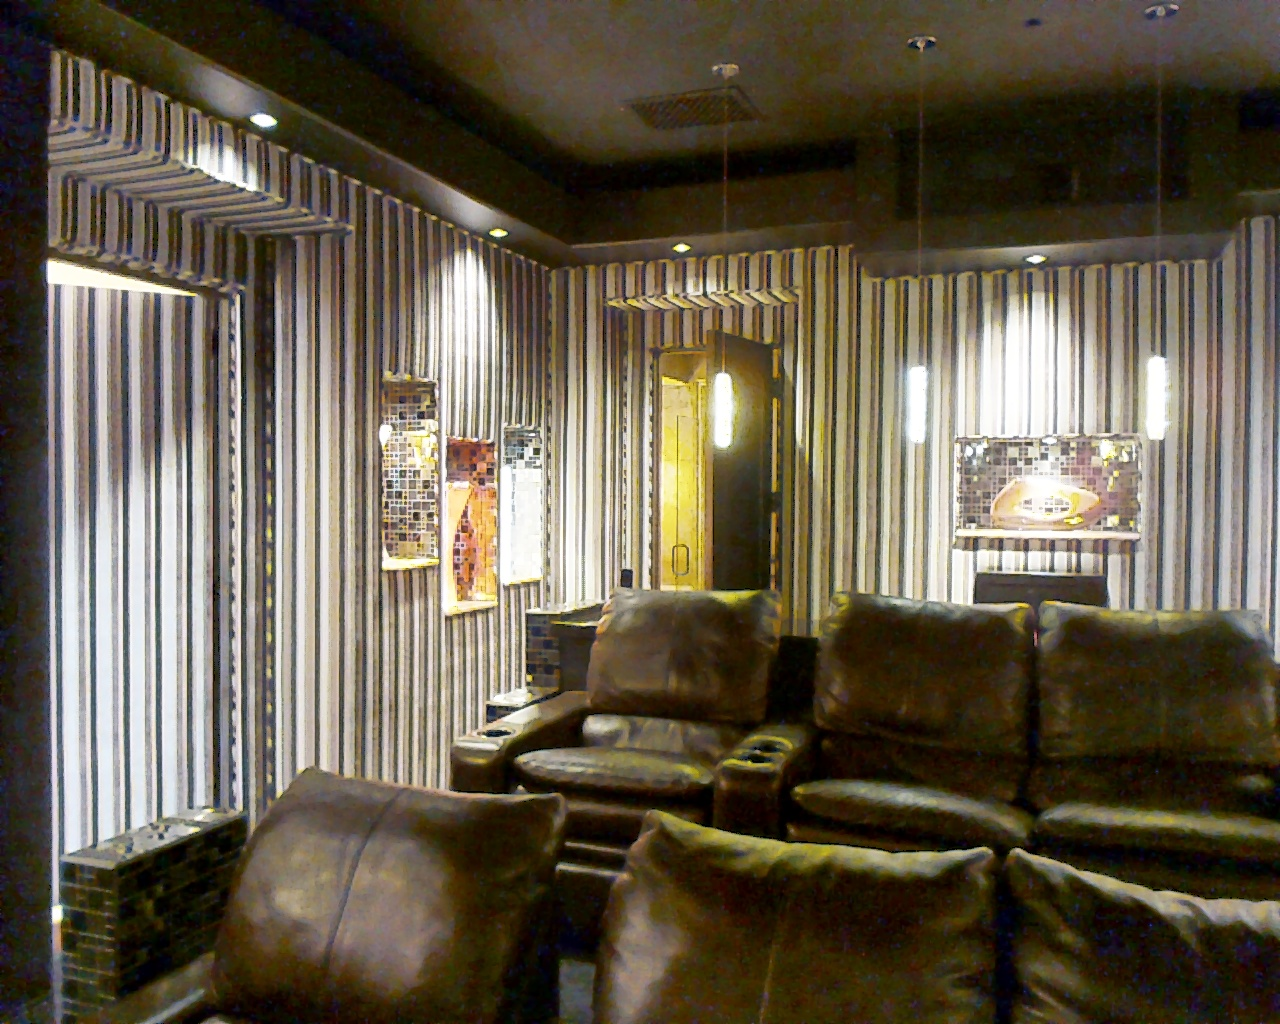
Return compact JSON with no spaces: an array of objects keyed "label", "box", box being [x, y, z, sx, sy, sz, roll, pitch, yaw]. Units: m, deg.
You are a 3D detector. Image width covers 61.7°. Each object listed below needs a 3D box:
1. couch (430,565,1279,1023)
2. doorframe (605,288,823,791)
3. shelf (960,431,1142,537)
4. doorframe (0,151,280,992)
[{"label":"couch","box":[1.160,0.740,3.120,3.450,1.000,1.070,1,1,22]},{"label":"doorframe","box":[0.420,0.140,6.060,1.110,2.640,0.510,1,1,21]},{"label":"shelf","box":[2.030,-0.140,5.320,0.820,0.500,0.280,1,1,21]},{"label":"doorframe","box":[-1.890,0.180,3.930,0.240,2.620,1.390,1,1,21]}]
